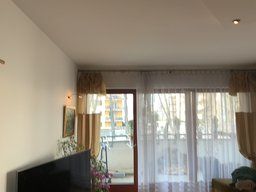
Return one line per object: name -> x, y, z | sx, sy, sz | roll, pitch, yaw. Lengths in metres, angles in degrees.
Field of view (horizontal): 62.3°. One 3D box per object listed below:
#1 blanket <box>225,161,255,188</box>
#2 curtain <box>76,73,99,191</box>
blanket -> 1.990, 1.330, 3.650 | 0.450, 0.250, 0.590 | -4, -6, 36
curtain -> -0.770, 0.810, 4.060 | 0.390, 2.480, 0.170 | 0, -5, 2
